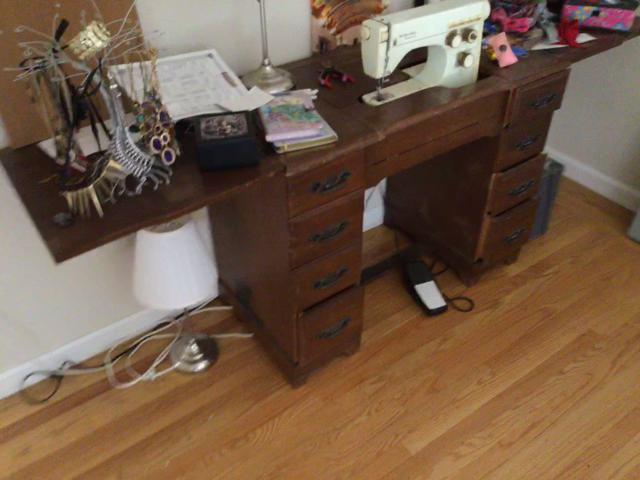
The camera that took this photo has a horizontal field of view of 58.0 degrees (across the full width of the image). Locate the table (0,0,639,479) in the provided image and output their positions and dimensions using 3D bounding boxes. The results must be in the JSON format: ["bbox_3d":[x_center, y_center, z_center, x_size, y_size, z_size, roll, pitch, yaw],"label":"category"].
[{"bbox_3d":[0.170,-0.190,1.780,1.970,0.890,0.510,-24,42,-26],"label":"table"}]
